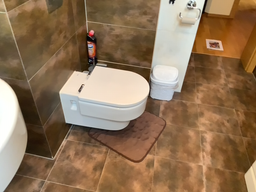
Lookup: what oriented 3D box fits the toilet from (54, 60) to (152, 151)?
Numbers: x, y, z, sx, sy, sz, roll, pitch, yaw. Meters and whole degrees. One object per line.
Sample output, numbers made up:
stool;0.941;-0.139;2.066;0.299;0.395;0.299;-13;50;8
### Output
toilet;-0.150;0.060;1.550;0.560;0.430;0.390;10;41;7
